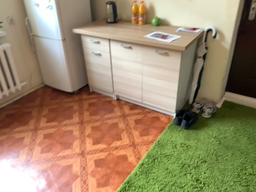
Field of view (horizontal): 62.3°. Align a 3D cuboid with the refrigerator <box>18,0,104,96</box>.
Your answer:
[{"bbox_3d":[-0.820,-0.880,2.750,0.600,1.510,0.710,17,35,28],"label":"refrigerator"}]
